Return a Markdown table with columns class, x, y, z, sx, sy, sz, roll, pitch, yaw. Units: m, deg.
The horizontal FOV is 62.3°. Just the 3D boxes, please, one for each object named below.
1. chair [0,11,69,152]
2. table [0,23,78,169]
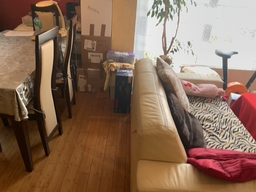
| class | x | y | z | sx | sy | sz | roll | pitch | yaw |
| --- | --- | --- | --- | --- | --- | --- | --- | --- | --- |
| chair | -0.850 | -0.100 | 1.730 | 0.550 | 1.040 | 0.380 | 7 | 30 | 4 |
| table | -1.110 | -0.160 | 2.110 | 0.870 | 0.760 | 1.520 | 3 | 30 | -1 |
